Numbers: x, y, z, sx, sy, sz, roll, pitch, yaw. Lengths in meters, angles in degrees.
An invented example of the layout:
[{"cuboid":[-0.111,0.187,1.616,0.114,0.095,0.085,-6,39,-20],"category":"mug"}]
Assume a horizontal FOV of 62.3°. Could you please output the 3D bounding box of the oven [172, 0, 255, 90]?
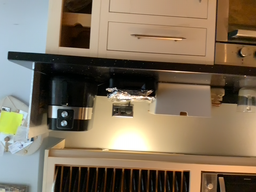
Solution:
[{"cuboid":[0.660,-0.530,1.260,0.590,0.920,0.660,3,178,-3],"category":"oven"}]
